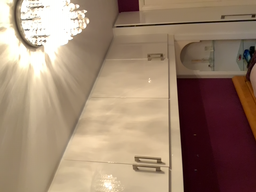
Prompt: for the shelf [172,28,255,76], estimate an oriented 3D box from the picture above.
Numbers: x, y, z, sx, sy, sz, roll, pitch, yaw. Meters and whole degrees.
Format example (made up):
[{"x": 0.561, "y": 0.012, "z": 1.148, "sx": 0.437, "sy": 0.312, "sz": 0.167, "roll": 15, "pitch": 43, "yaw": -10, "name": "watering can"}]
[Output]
[{"x": 1.070, "y": -0.500, "z": 2.430, "sx": 0.360, "sy": 1.080, "sz": 0.390, "roll": -79, "pitch": -14, "yaw": -48, "name": "shelf"}]
